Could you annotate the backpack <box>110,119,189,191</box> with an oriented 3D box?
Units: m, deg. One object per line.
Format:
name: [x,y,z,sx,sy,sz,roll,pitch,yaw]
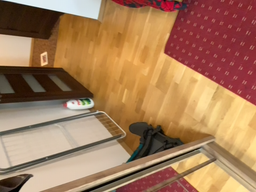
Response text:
backpack: [0.170,0.460,1.730,0.330,0.450,0.360,38,121,40]
